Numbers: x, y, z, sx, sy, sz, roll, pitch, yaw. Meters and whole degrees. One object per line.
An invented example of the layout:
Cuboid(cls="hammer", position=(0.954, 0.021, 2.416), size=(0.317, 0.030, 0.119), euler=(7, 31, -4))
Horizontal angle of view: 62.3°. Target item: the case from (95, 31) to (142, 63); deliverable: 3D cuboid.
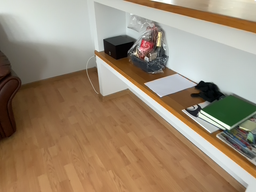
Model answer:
Cuboid(cls="case", position=(-0.090, -0.460, 1.950), size=(0.310, 0.150, 0.320), euler=(-18, 36, -24))
